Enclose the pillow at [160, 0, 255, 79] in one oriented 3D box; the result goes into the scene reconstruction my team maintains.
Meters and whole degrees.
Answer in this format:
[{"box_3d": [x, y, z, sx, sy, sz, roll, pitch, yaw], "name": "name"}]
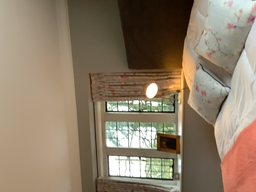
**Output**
[{"box_3d": [0.600, -0.430, 1.370, 0.690, 0.410, 0.160, 28, -137, -29], "name": "pillow"}]
